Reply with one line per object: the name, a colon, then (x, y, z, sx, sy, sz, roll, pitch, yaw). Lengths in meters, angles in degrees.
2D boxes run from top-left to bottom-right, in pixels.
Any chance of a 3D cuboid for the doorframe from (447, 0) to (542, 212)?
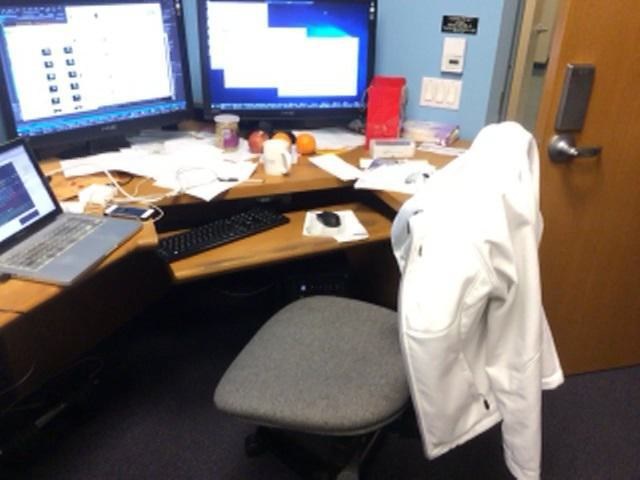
doorframe: (0.670, -0.860, 1.990, 0.180, 1.550, 0.170, 14, 26, 19)
